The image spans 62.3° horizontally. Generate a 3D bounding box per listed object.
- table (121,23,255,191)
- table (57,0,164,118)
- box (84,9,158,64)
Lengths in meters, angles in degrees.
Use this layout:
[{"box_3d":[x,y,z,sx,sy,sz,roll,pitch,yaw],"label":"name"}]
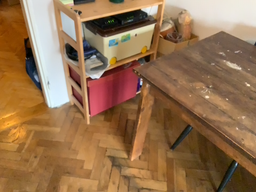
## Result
[{"box_3d":[0.780,0.340,1.140,0.910,0.770,1.420,-27,51,-31],"label":"table"},{"box_3d":[-0.130,-0.330,1.730,0.680,0.830,0.300,-25,51,-30],"label":"table"},{"box_3d":[-0.050,-0.470,1.620,0.470,0.220,0.270,-24,50,-29],"label":"box"}]
